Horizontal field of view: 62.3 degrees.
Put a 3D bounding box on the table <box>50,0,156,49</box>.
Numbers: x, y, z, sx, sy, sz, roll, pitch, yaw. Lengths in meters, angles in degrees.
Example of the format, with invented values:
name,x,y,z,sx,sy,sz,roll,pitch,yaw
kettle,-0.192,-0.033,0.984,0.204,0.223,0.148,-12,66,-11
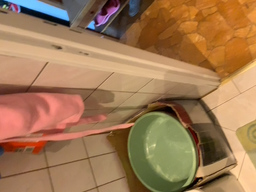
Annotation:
name,x,y,z,sx,sy,sz,roll,pitch,yaw
table,-0.170,-0.860,1.740,0.820,0.510,0.430,-37,65,35
